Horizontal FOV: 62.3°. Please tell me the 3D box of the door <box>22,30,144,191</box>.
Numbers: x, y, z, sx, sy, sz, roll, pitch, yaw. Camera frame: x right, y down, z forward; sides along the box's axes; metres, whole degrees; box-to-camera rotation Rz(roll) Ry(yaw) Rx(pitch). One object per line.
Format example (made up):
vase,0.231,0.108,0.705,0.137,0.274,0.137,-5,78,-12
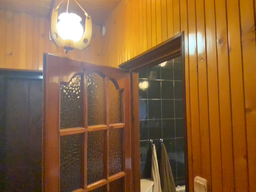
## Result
door,-0.230,0.700,1.480,0.140,2.070,0.940,-2,-3,41
